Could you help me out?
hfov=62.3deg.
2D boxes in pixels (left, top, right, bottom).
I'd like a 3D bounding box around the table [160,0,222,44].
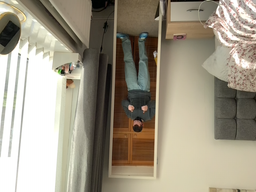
[{"bbox_3d":[0.490,-0.700,1.770,0.410,0.390,0.420,1,173,5],"label":"table"}]
